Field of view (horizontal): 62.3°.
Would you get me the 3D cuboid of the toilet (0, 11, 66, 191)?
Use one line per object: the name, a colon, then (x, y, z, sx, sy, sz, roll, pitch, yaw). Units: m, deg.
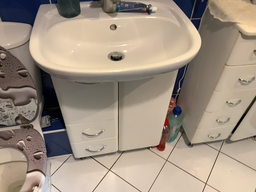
toilet: (-0.530, 0.210, 0.870, 0.390, 0.820, 0.660, -7, 47, -9)
